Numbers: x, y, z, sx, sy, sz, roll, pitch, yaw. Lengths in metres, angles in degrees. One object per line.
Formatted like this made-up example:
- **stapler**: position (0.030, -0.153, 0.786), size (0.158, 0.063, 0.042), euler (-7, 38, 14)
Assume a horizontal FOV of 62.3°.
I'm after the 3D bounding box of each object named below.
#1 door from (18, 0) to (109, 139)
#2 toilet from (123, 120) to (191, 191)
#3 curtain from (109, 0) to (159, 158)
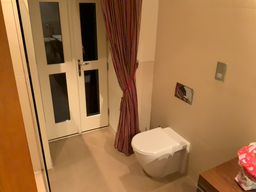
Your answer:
- **door**: position (-0.690, -0.350, 2.600), size (0.930, 1.790, 0.060), euler (-10, 26, -25)
- **toilet**: position (0.290, 0.610, 2.290), size (0.560, 0.440, 0.410), euler (-11, 26, -26)
- **curtain**: position (0.030, -0.280, 2.320), size (0.370, 2.020, 0.350), euler (-8, 25, -21)
